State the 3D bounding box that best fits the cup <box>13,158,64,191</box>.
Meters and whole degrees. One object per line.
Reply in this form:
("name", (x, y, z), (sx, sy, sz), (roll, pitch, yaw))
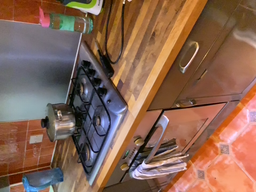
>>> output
("cup", (-0.650, 0.600, 1.540), (0.170, 0.300, 0.170), (61, 138, 32))
